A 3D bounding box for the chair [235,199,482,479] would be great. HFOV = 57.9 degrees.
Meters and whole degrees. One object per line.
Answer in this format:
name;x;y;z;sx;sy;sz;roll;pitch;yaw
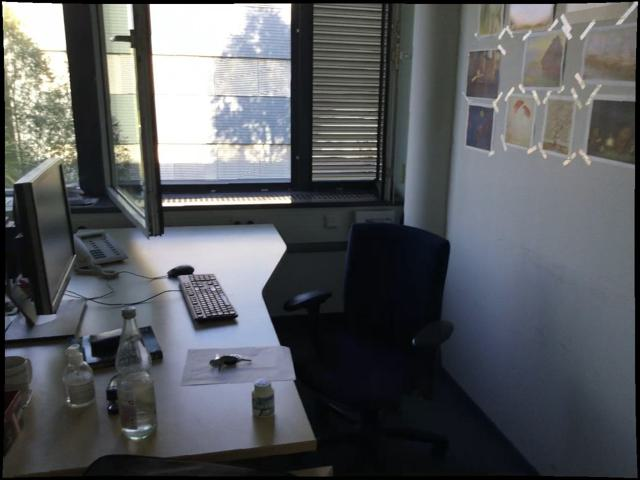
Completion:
chair;0.160;0.390;2.350;0.710;0.921;0.650;12;21;33
